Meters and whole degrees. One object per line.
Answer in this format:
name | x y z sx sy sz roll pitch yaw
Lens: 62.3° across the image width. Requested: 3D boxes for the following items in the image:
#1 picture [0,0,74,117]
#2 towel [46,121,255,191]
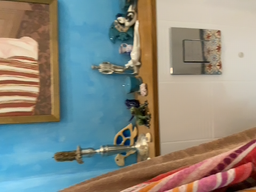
picture | -0.480 -0.140 0.710 0.040 0.570 0.420 178 91 -73
towel | 0.360 0.180 0.570 0.420 1.050 0.170 172 97 -73
